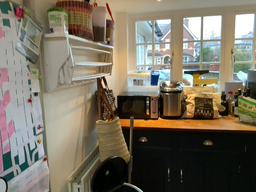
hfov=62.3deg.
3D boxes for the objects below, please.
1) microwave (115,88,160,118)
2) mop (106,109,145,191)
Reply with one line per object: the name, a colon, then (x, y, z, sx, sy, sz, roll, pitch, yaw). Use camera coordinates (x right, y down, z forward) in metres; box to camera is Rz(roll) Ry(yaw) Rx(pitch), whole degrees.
microwave: (0.110, 0.070, 2.290, 0.450, 0.270, 0.280, 0, 9, 6)
mop: (-0.030, 0.670, 1.770, 0.220, 1.030, 0.450, -3, 9, -11)
